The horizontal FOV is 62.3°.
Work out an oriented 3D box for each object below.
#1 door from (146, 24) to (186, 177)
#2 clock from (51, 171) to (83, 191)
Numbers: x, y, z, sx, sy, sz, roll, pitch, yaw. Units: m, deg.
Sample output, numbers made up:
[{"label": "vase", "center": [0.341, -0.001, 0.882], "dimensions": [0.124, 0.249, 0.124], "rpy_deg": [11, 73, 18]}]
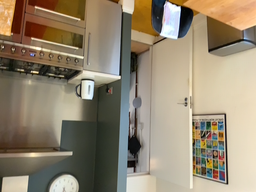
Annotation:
[{"label": "door", "center": [0.500, 0.050, 2.920], "dimensions": [0.030, 1.870, 0.780], "rpy_deg": [6, 171, -29]}, {"label": "clock", "center": [-0.700, 1.060, 2.440], "dimensions": [0.350, 0.350, 0.050], "rpy_deg": [7, 171, -33]}]
